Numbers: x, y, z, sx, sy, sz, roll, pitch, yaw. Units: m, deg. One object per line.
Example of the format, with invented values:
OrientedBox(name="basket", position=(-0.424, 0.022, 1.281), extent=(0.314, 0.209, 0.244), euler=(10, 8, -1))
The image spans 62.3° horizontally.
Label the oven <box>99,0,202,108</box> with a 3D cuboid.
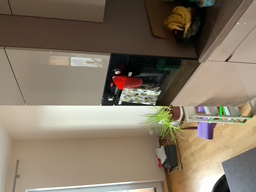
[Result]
OrientedBox(name="oven", position=(0.100, -0.310, 1.660), extent=(0.550, 0.570, 0.620), euler=(113, 154, -57))
